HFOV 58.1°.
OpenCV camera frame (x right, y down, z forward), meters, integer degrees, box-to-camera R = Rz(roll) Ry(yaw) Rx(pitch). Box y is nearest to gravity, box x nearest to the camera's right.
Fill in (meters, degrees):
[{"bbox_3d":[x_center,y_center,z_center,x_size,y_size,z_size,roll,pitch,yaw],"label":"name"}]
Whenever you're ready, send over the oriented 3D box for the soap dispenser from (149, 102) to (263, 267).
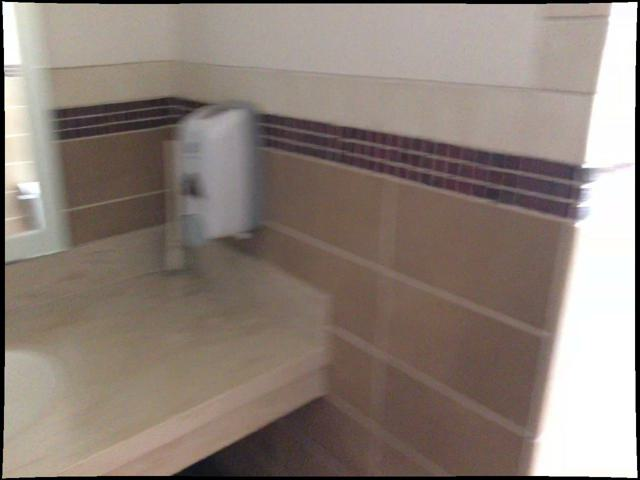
[{"bbox_3d":[-0.229,-0.120,1.180,0.140,0.291,0.160,-19,27,-37],"label":"soap dispenser"}]
